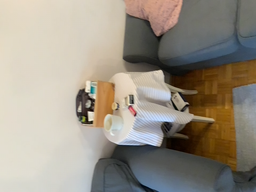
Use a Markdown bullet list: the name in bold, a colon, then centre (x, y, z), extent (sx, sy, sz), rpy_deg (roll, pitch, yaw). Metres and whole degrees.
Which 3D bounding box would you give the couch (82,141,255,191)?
- **couch**: centre (0.250, 0.880, 1.300), extent (0.890, 0.800, 1.090), rpy_deg (-5, 79, 55)
